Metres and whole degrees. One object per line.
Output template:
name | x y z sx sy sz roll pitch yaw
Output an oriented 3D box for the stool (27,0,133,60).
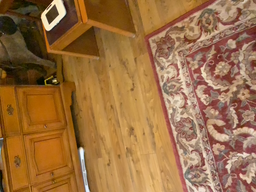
stool | -0.370 -0.580 1.670 0.520 0.560 0.370 -21 79 38
